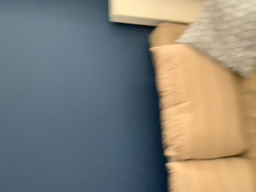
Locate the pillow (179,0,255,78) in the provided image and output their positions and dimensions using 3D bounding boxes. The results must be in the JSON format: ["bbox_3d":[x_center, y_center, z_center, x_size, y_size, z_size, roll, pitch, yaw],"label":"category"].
[{"bbox_3d":[0.570,-0.430,1.260,0.390,0.210,0.520,107,155,-43],"label":"pillow"}]

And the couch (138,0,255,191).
[{"bbox_3d":[0.680,0.350,1.230,1.050,0.750,2.020,139,129,-67],"label":"couch"}]
